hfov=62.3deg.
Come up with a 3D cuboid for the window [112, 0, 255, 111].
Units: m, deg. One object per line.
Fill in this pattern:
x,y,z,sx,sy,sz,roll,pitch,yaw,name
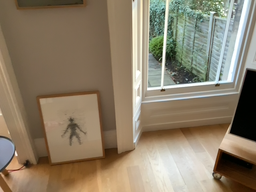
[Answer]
0.590,-1.050,1.720,1.420,2.330,0.400,-7,30,-9,window
